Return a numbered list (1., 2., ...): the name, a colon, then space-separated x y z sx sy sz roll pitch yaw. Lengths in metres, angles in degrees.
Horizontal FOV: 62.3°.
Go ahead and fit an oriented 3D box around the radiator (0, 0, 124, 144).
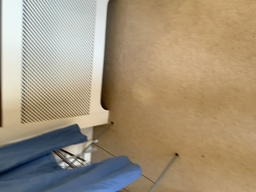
1. radiator: -0.420 -0.350 1.400 0.210 0.790 1.160 17 105 41
